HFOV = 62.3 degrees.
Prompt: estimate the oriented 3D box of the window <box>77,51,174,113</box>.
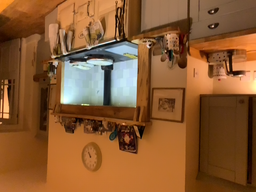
[{"bbox_3d":[-0.160,-0.170,3.220,1.790,0.750,0.210,0,178,42],"label":"window"}]
